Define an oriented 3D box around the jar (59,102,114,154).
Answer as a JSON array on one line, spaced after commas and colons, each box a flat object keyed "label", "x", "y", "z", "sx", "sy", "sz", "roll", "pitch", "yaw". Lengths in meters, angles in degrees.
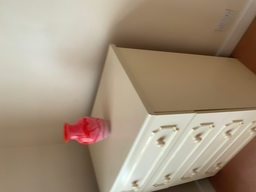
[{"label": "jar", "x": -0.250, "y": 0.180, "z": 1.240, "sx": 0.200, "sy": 0.250, "sz": 0.200, "roll": 64, "pitch": 143, "yaw": 42}]
